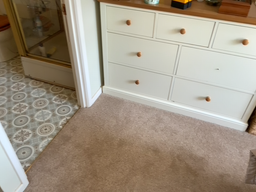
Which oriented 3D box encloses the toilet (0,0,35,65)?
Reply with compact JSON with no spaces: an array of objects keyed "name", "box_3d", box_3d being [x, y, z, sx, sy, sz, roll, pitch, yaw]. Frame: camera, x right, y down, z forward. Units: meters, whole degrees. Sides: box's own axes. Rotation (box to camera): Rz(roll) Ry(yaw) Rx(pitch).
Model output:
[{"name":"toilet","box_3d":[-1.510,-0.840,2.490,0.330,0.710,0.590,15,40,15]}]
